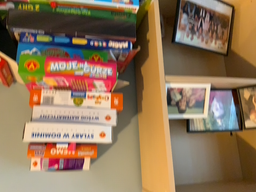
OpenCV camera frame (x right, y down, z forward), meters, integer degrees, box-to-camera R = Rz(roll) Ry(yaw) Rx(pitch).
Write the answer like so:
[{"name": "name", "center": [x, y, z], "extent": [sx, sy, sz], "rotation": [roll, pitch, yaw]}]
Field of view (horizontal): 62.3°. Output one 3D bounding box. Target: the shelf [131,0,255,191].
[{"name": "shelf", "center": [0.500, -0.190, 0.930], "extent": [0.910, 1.090, 0.260], "rotation": [1, 167, -15]}]
